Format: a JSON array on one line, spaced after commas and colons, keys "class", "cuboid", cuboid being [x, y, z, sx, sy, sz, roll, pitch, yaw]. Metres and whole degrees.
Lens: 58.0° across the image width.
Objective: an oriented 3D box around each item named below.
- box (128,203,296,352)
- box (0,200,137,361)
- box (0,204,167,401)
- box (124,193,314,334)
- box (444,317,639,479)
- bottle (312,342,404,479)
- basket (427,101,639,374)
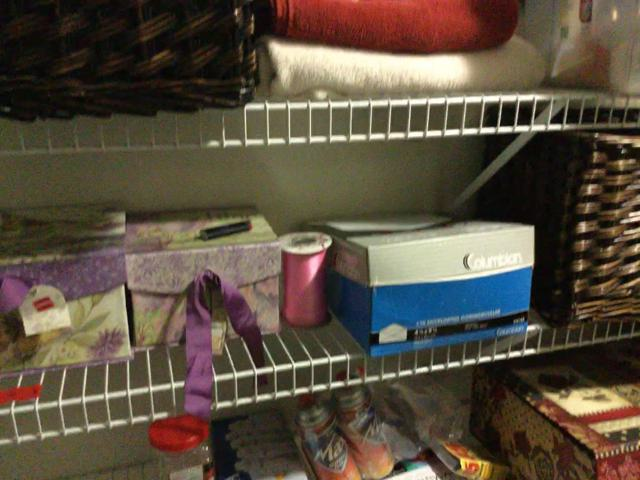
[{"class": "box", "cuboid": [-0.170, 0.040, 0.870, 0.210, 0.130, 0.250, -5, 17, -16]}, {"class": "box", "cuboid": [-0.350, 0.040, 0.800, 0.170, 0.130, 0.260, -5, 17, -16]}, {"class": "box", "cuboid": [-0.370, 0.070, 0.790, 0.290, 0.170, 0.260, -5, 17, -16]}, {"class": "box", "cuboid": [-0.160, 0.020, 0.870, 0.240, 0.120, 0.250, -5, 17, -16]}, {"class": "box", "cuboid": [0.520, 0.330, 1.020, 0.460, 0.210, 0.370, -5, 17, -16]}, {"class": "bottle", "cuboid": [0.060, 0.290, 0.930, 0.140, 0.240, 0.030, -5, 17, -16]}, {"class": "basket", "cuboid": [0.470, -0.050, 0.960, 0.430, 0.330, 0.390, -5, 17, -16]}]
